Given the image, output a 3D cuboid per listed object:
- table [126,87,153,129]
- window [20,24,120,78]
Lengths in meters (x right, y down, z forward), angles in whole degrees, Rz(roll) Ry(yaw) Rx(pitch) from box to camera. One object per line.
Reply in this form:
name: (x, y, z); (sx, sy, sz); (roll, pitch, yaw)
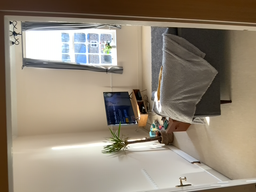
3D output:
table: (0.270, 0.290, 5.650); (1.060, 0.440, 0.500); (-106, 19, -49)
window: (-1.580, -1.240, 6.090); (0.310, 2.680, 1.400); (-174, 83, -77)
